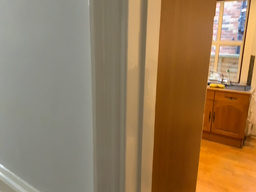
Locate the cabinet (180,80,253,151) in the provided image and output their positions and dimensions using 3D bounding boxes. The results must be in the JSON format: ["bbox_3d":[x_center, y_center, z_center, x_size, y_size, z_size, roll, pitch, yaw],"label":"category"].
[{"bbox_3d":[1.540,0.270,3.740,0.980,0.960,0.630,10,16,33],"label":"cabinet"}]
